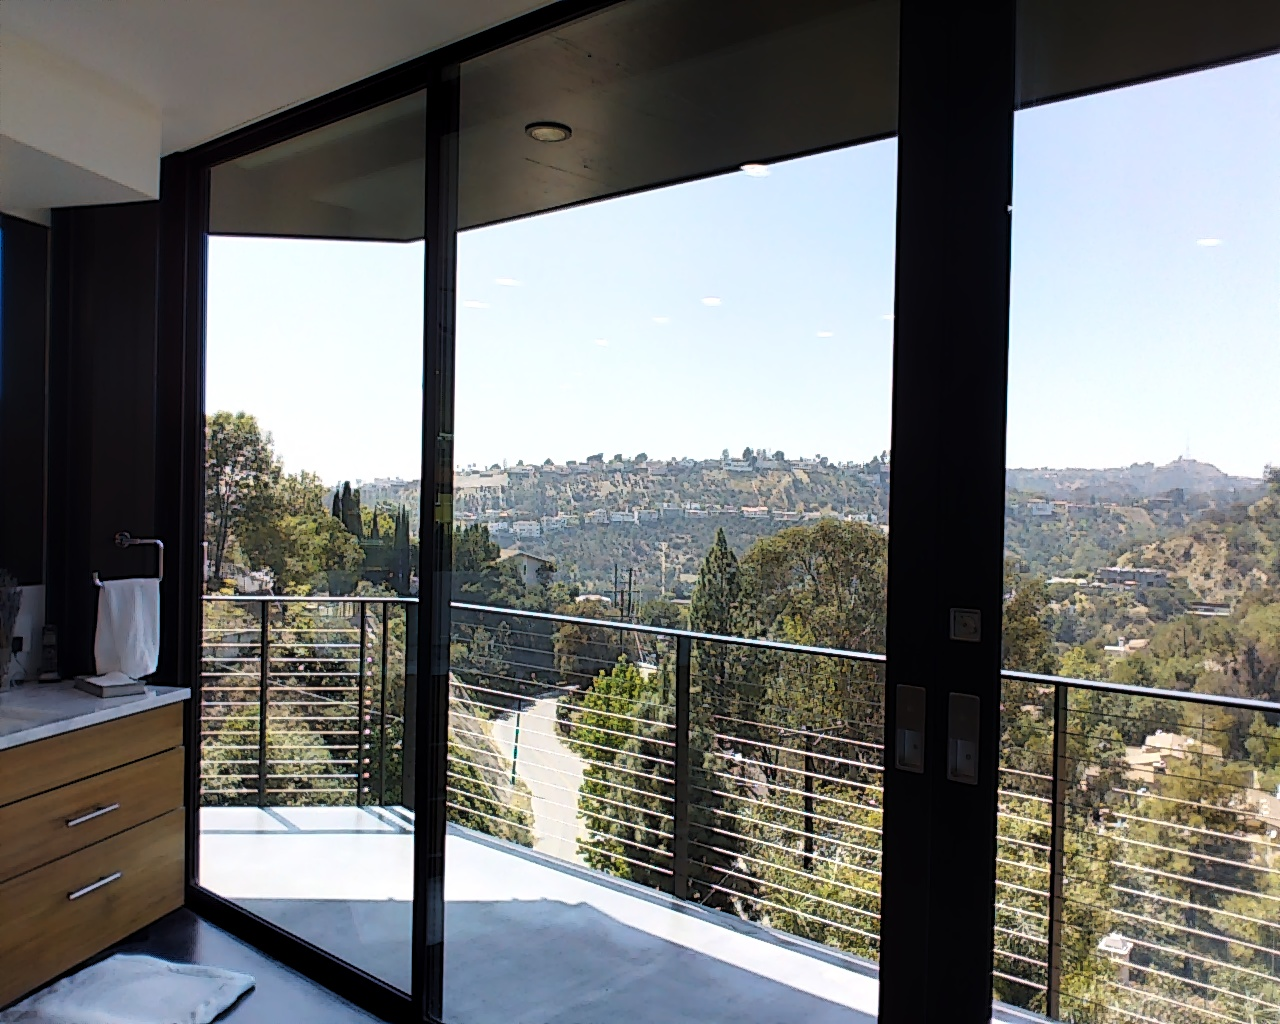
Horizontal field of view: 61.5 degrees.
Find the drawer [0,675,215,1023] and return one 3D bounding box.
[{"bbox_3d":[-1.780,0.990,2.560,0.340,0.900,1.920,1,0,15],"label":"drawer"}]
